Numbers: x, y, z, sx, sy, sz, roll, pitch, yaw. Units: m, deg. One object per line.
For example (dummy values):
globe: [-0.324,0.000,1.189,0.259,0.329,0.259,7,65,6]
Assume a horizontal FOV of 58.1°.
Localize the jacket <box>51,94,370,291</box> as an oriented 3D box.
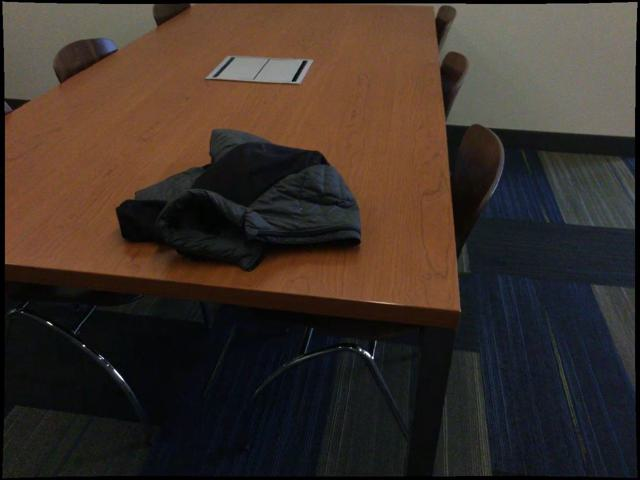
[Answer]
jacket: [-0.170,-0.130,1.180,0.499,0.150,0.490,5,34,7]
